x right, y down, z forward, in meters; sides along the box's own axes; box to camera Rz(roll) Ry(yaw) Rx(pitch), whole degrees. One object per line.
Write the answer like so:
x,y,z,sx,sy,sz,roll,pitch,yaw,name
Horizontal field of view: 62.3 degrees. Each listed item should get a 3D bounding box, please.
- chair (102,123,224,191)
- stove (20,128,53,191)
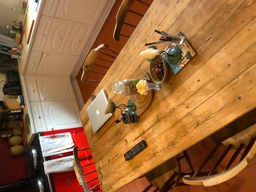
0.280,0.530,1.660,0.390,0.780,0.430,-48,56,40,chair
-1.220,1.030,2.790,0.690,0.120,0.990,-47,56,41,stove
